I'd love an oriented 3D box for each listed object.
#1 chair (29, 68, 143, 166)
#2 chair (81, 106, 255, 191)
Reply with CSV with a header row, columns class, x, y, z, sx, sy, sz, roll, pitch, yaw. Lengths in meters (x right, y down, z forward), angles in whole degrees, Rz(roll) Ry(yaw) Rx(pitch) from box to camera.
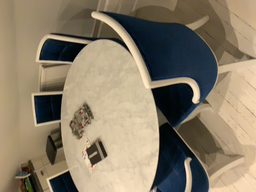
class,x,y,z,sx,sy,sz,roll,pitch,yaw
chair,-0.420,0.140,2.180,0.610,0.900,0.530,38,131,39
chair,0.270,0.560,1.430,0.590,0.900,0.510,53,139,25
